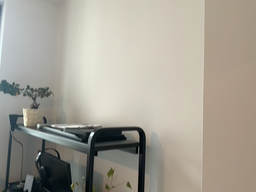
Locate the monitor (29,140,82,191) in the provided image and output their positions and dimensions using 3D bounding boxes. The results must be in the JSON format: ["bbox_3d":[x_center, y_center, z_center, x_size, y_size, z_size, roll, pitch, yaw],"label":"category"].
[{"bbox_3d":[-0.530,0.580,1.490,0.530,0.430,0.060,5,-1,41],"label":"monitor"}]
